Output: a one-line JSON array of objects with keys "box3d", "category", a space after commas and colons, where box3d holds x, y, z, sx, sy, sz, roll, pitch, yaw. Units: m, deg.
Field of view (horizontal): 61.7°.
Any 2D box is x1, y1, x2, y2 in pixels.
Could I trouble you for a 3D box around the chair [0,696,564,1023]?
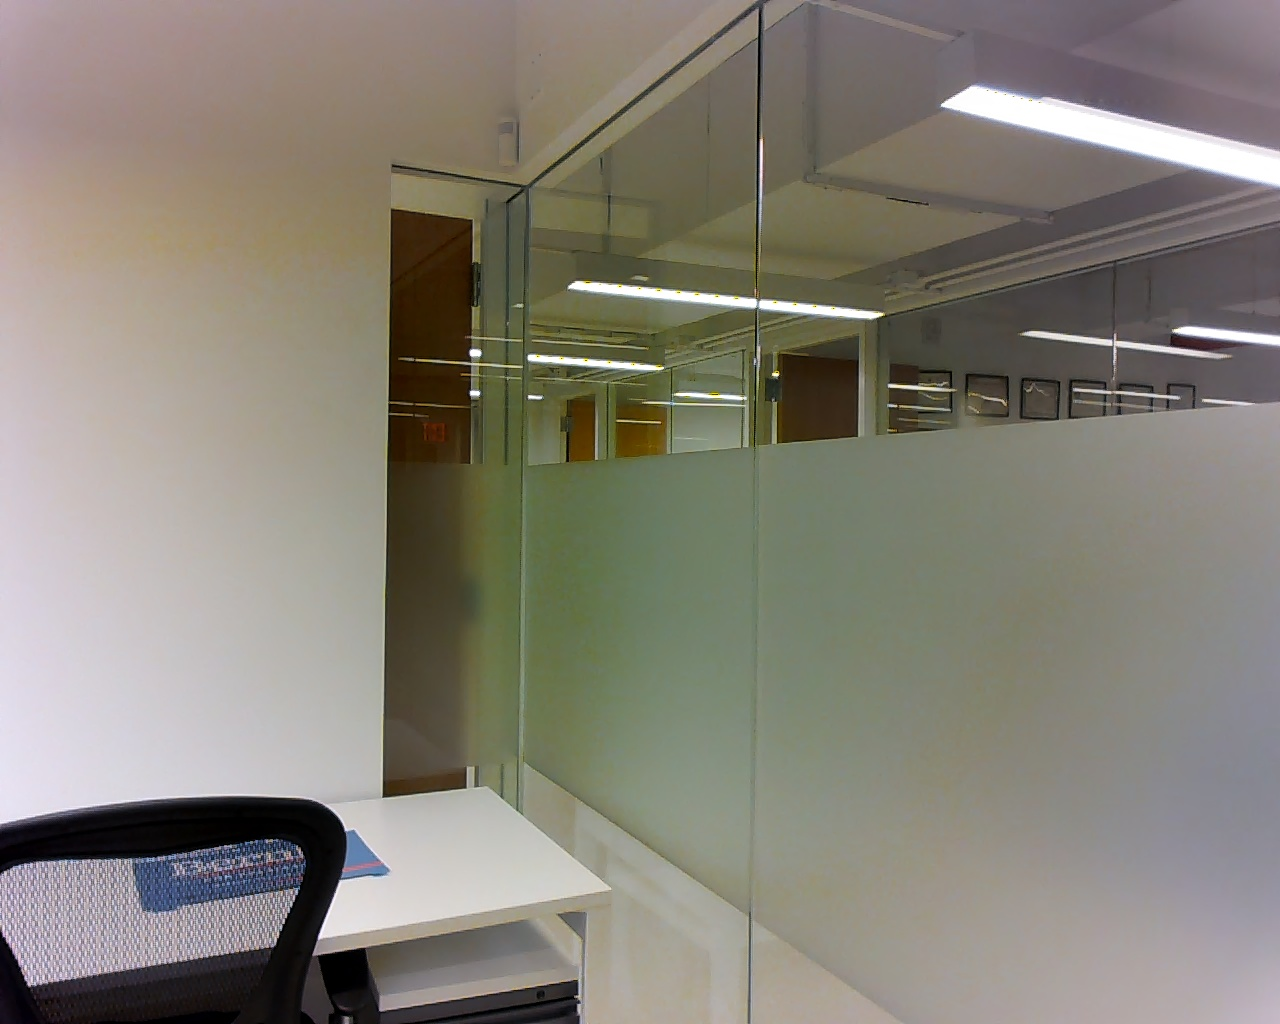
[{"box3d": [-0.690, 0.910, 1.770, 0.950, 1.050, 0.620, 1, 0, -26], "category": "chair"}]
